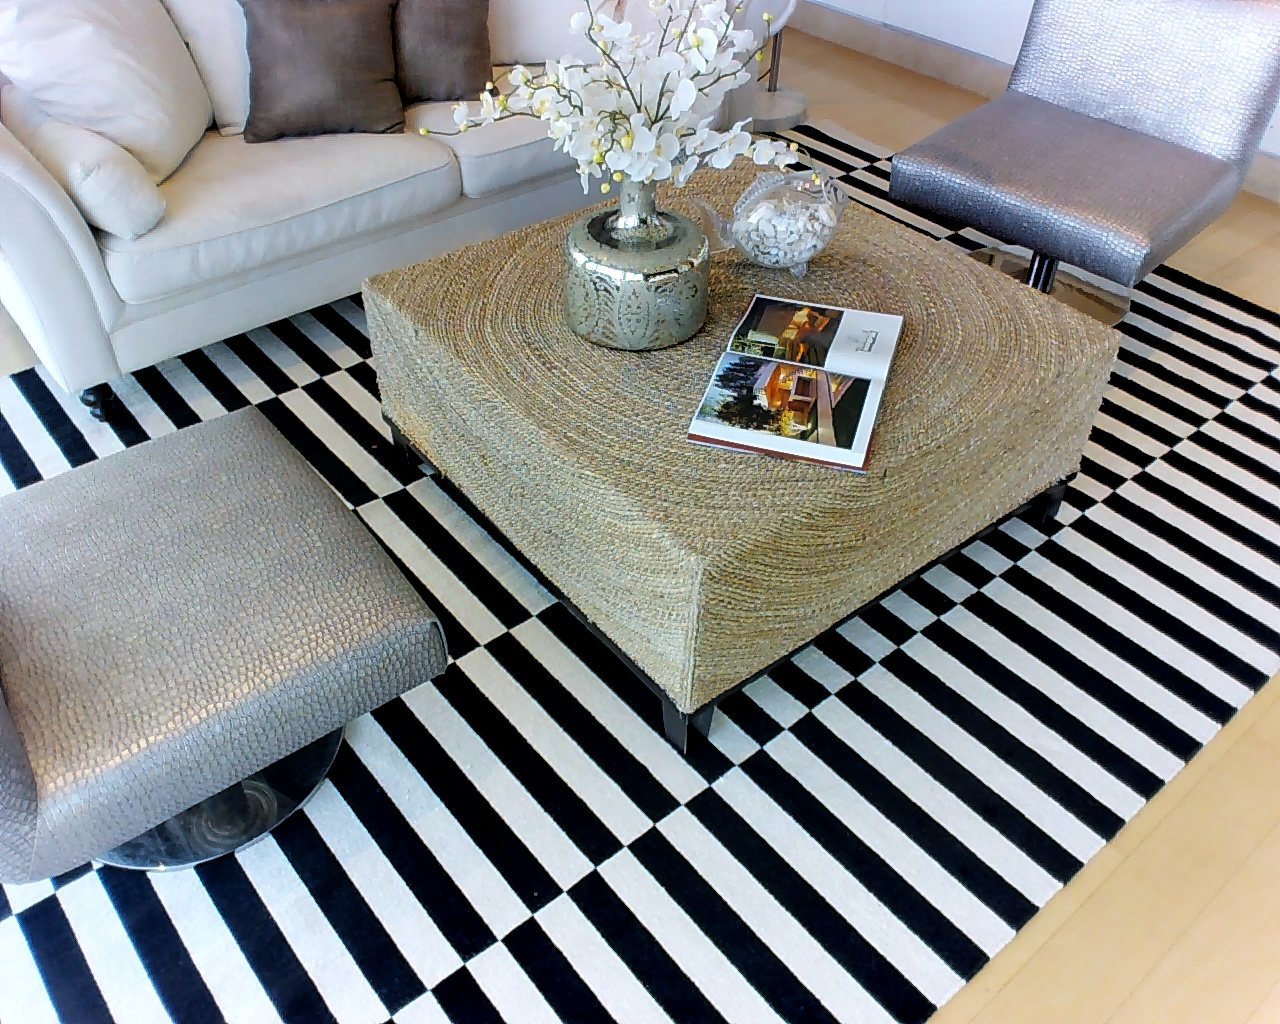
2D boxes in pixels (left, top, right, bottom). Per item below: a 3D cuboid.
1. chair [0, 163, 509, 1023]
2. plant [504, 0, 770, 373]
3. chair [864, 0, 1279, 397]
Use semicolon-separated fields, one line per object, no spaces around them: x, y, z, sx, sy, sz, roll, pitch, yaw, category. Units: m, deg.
-0.780;0.100;1.610;0.820;0.810;0.770;-26;48;-27;chair
-0.020;-0.610;1.950;0.340;0.540;0.390;-11;43;-13;plant
1.210;-0.940;2.830;0.830;0.770;0.760;-28;49;-29;chair
